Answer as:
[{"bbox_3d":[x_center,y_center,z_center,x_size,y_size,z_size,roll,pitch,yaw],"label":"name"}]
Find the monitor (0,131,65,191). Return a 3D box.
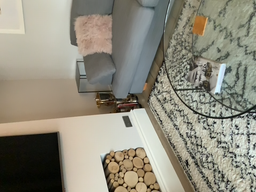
[{"bbox_3d":[-0.860,0.800,1.640,0.040,0.710,1.170,107,148,-41],"label":"monitor"}]

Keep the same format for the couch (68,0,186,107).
[{"bbox_3d":[-0.070,-1.120,2.140,2.360,0.840,1.100,107,150,-41],"label":"couch"}]
